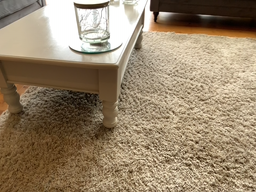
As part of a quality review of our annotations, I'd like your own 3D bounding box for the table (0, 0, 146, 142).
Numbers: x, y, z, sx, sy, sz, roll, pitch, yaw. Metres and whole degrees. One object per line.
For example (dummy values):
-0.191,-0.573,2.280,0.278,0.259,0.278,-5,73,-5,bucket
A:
-0.290,-0.360,1.500,0.700,0.470,1.270,7,37,6,table
